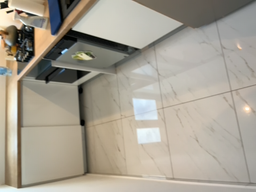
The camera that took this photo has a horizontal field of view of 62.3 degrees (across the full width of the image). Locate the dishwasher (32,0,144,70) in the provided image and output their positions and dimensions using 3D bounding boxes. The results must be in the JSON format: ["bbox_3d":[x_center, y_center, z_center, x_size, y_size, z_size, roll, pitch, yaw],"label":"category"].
[{"bbox_3d":[-0.390,-0.690,2.090,0.560,0.890,0.590,-19,73,47],"label":"dishwasher"}]
